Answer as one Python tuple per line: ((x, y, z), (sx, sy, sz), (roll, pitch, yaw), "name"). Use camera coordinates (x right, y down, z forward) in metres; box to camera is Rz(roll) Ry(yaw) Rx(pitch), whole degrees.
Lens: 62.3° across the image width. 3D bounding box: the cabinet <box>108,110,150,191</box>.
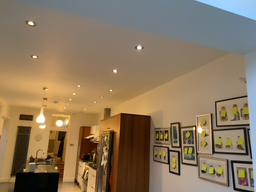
((0.010, 1.410, 4.160), (0.670, 2.160, 0.410), (7, -13, -17), "cabinet")
